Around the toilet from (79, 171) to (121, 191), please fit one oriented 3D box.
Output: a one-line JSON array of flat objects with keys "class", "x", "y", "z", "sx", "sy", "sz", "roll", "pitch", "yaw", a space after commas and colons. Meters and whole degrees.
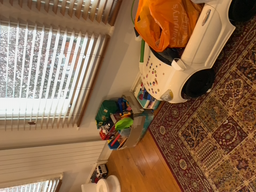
[{"class": "toilet", "x": -0.340, "y": 1.110, "z": 2.560, "sx": 0.400, "sy": 0.350, "sz": 0.280, "roll": -39, "pitch": 57, "yaw": 52}]
